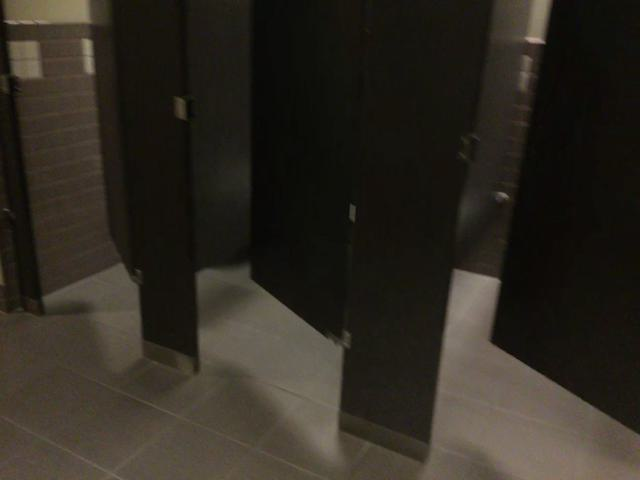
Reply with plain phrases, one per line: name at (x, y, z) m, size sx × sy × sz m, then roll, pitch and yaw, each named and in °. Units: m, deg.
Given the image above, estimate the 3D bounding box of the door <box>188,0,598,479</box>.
door at (0.140, -0.390, 1.660) m, size 1.050 × 2.070 × 0.330 m, roll 15°, pitch 25°, yaw 26°
